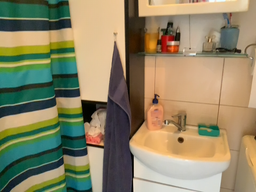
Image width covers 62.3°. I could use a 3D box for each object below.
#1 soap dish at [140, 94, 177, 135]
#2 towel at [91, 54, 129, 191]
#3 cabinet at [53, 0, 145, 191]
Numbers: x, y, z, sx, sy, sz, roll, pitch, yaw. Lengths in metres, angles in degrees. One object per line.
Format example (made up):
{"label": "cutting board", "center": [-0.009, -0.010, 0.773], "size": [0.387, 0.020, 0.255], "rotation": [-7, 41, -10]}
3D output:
{"label": "soap dish", "center": [0.170, 0.100, 1.190], "size": [0.180, 0.190, 0.100], "rotation": [5, 17, 19]}
{"label": "towel", "center": [-0.080, 0.320, 1.090], "size": [0.150, 1.050, 0.070], "rotation": [6, 17, 21]}
{"label": "cabinet", "center": [-0.130, 0.150, 1.250], "size": [0.380, 1.700, 0.270], "rotation": [6, 17, 19]}
